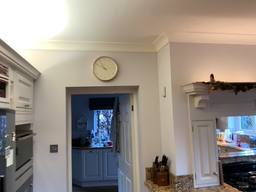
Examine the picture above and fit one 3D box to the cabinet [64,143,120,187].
[{"bbox_3d":[-0.850,1.660,5.190,1.260,0.880,0.520,-1,-4,-1],"label":"cabinet"}]
